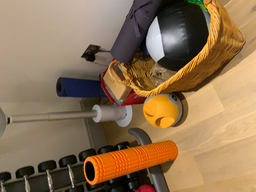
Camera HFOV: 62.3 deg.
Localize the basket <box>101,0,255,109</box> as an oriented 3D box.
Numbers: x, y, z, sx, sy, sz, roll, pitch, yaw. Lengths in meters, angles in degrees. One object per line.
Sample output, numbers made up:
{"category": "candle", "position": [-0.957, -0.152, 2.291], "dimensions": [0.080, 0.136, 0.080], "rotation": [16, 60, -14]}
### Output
{"category": "basket", "position": [0.260, -0.300, 1.200], "dimensions": [0.610, 0.460, 0.510], "rotation": [-41, 61, 42]}
